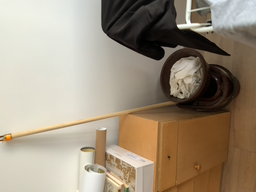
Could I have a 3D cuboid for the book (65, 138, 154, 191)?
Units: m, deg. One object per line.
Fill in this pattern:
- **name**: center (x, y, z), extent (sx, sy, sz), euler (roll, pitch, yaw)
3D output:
- **book**: center (-0.120, 0.580, 1.090), extent (0.360, 0.270, 0.610), euler (12, 101, 49)
